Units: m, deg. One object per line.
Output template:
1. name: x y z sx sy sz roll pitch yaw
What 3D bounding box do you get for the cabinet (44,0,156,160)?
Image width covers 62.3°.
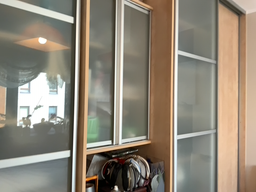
1. cabinet: -0.160 -0.170 1.420 0.630 1.000 0.350 2 -1 -44
